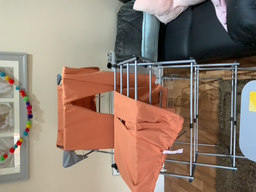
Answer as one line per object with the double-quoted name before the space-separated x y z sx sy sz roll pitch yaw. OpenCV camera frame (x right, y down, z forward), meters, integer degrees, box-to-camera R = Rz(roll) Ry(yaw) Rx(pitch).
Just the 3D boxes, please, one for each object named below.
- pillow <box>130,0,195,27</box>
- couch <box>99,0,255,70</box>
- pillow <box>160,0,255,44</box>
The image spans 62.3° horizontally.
"pillow" 0.260 -0.740 1.670 0.320 0.400 0.260 -177 87 -67
"couch" 0.420 -0.690 1.550 1.500 0.900 0.850 -174 84 -67
"pillow" 0.470 -0.630 1.190 0.660 0.260 0.530 -174 84 -67
